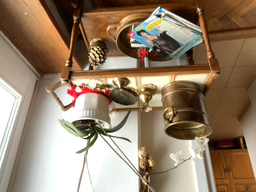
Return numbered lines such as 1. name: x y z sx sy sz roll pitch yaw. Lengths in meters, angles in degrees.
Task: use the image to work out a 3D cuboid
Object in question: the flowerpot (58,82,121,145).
1. flowerpot: -0.170 0.090 1.040 0.240 0.250 0.180 -2 149 5
